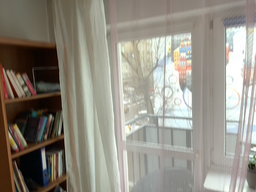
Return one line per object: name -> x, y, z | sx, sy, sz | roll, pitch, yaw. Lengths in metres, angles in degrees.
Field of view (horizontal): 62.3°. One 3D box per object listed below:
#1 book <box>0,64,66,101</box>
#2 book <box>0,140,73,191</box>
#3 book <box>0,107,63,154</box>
book -> -0.800, -0.120, 1.650 | 0.360, 0.240, 0.480 | 1, 8, 28
book -> -0.700, 0.600, 1.670 | 0.250, 0.350, 0.440 | 2, 8, 32
book -> -0.800, 0.240, 1.660 | 0.320, 0.220, 0.450 | 1, 8, 29
